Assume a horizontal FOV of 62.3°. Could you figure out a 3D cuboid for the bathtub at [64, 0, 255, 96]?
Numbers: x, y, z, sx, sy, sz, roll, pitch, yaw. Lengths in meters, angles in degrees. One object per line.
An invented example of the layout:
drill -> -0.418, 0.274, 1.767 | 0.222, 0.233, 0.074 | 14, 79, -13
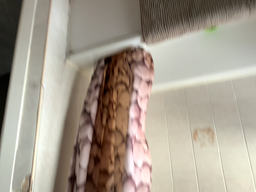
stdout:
bathtub -> 0.510, -0.490, 1.160 | 1.590, 0.530, 0.690 | -12, 159, 26
